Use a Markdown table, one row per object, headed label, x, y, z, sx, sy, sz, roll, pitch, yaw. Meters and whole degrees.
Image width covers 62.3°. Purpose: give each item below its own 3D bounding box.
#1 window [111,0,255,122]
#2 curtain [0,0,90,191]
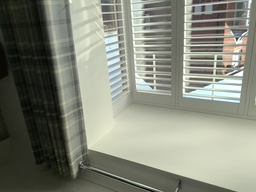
| label | x | y | z | sx | sy | sz | roll | pitch | yaw |
| --- | --- | --- | --- | --- | --- | --- | --- | --- | --- |
| window | 0.690 | -0.560 | 1.690 | 1.730 | 1.390 | 0.340 | 9 | -155 | 30 |
| curtain | -0.700 | -0.540 | 1.250 | 0.560 | 2.400 | 0.290 | 8 | -155 | 29 |
